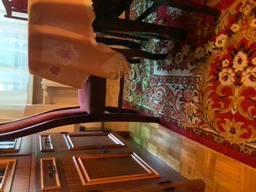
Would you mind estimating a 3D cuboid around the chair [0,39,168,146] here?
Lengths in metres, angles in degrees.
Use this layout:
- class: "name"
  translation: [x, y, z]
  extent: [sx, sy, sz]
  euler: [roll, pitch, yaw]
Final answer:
- class: "chair"
  translation: [-0.280, -0.010, 1.330]
  extent: [0.450, 0.910, 0.480]
  euler: [-167, 81, -66]
